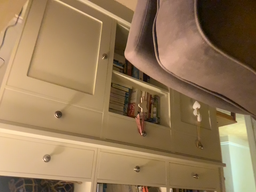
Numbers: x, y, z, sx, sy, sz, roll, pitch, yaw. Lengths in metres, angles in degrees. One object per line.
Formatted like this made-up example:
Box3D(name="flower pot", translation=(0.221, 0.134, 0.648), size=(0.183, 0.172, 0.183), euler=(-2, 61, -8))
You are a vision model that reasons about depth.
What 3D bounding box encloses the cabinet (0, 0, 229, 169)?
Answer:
Box3D(name="cabinet", translation=(0.020, -0.060, 1.480), size=(1.520, 0.940, 0.390), euler=(18, 153, -30))
